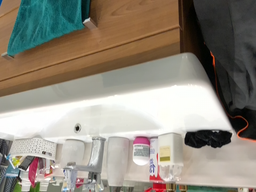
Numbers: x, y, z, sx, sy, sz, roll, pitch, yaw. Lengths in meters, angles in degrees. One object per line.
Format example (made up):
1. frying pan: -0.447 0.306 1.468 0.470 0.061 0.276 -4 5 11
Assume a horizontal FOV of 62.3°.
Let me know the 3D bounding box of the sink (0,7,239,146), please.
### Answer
1. sink: -0.170 0.050 0.650 0.870 0.130 0.370 -9 155 29
